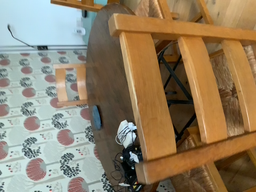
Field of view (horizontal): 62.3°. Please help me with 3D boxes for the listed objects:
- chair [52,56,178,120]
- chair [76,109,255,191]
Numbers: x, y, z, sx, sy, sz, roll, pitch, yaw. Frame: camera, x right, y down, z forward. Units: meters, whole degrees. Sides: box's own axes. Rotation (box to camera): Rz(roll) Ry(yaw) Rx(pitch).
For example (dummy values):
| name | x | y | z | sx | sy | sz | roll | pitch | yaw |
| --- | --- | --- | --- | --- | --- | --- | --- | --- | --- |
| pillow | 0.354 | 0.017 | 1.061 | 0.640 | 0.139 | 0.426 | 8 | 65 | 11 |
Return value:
| name | x | y | z | sx | sy | sz | roll | pitch | yaw |
| --- | --- | --- | --- | --- | --- | --- | --- | --- | --- |
| chair | -0.130 | -0.090 | 1.990 | 0.540 | 1.010 | 0.430 | 177 | 86 | -66 |
| chair | 0.280 | 0.480 | 1.230 | 0.460 | 1.020 | 0.510 | 118 | 138 | -53 |
